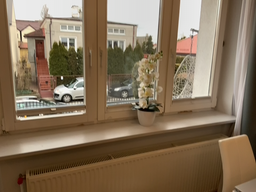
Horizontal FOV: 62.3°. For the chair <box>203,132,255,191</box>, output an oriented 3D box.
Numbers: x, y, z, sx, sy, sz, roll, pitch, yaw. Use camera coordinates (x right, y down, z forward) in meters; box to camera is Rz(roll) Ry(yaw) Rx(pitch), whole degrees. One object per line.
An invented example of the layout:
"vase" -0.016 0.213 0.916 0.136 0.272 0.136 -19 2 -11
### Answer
"chair" 0.910 0.820 1.510 0.410 0.910 0.600 -4 14 -25
